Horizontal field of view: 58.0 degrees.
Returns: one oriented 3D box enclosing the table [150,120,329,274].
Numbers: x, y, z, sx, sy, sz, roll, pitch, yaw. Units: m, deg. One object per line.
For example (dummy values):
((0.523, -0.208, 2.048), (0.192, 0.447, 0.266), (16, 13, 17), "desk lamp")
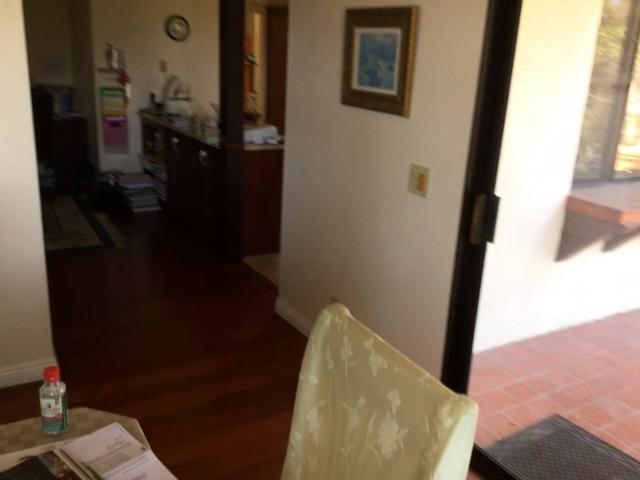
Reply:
((-0.790, -0.460, 4.970), (0.840, 0.870, 1.820), (-4, 19, -31), "table")
